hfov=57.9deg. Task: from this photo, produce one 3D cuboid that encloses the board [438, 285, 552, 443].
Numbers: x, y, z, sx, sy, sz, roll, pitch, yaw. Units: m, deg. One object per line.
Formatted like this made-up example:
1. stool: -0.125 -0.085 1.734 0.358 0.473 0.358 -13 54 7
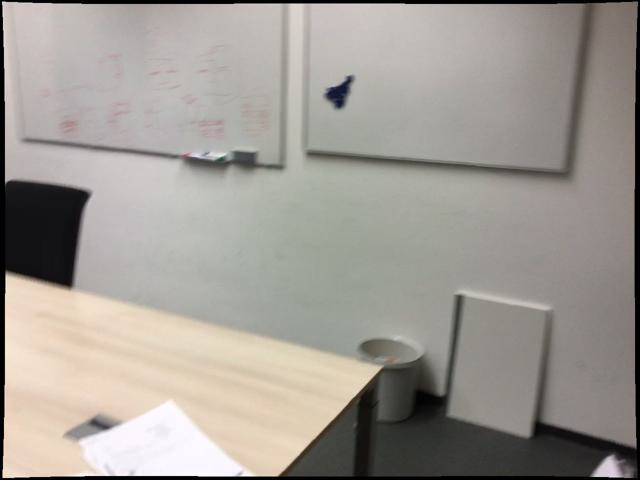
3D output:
1. board: 0.769 0.541 2.570 0.400 0.591 0.160 10 16 26
